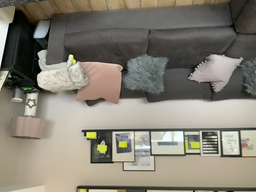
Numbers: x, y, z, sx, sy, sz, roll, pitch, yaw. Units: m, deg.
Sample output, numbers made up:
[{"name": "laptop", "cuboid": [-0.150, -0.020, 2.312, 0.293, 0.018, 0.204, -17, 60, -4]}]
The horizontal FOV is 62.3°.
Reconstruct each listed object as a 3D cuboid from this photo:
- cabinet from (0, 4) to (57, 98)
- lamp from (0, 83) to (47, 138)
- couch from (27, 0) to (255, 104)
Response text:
[{"name": "cabinet", "cuboid": [-1.350, -0.480, 2.610, 0.510, 0.750, 0.930, -2, 163, 5]}, {"name": "lamp", "cuboid": [-1.280, 0.190, 2.600, 0.360, 0.600, 0.330, -2, 163, 5]}, {"name": "couch", "cuboid": [0.540, -0.460, 2.640, 3.100, 0.790, 0.980, -2, 163, 5]}]
